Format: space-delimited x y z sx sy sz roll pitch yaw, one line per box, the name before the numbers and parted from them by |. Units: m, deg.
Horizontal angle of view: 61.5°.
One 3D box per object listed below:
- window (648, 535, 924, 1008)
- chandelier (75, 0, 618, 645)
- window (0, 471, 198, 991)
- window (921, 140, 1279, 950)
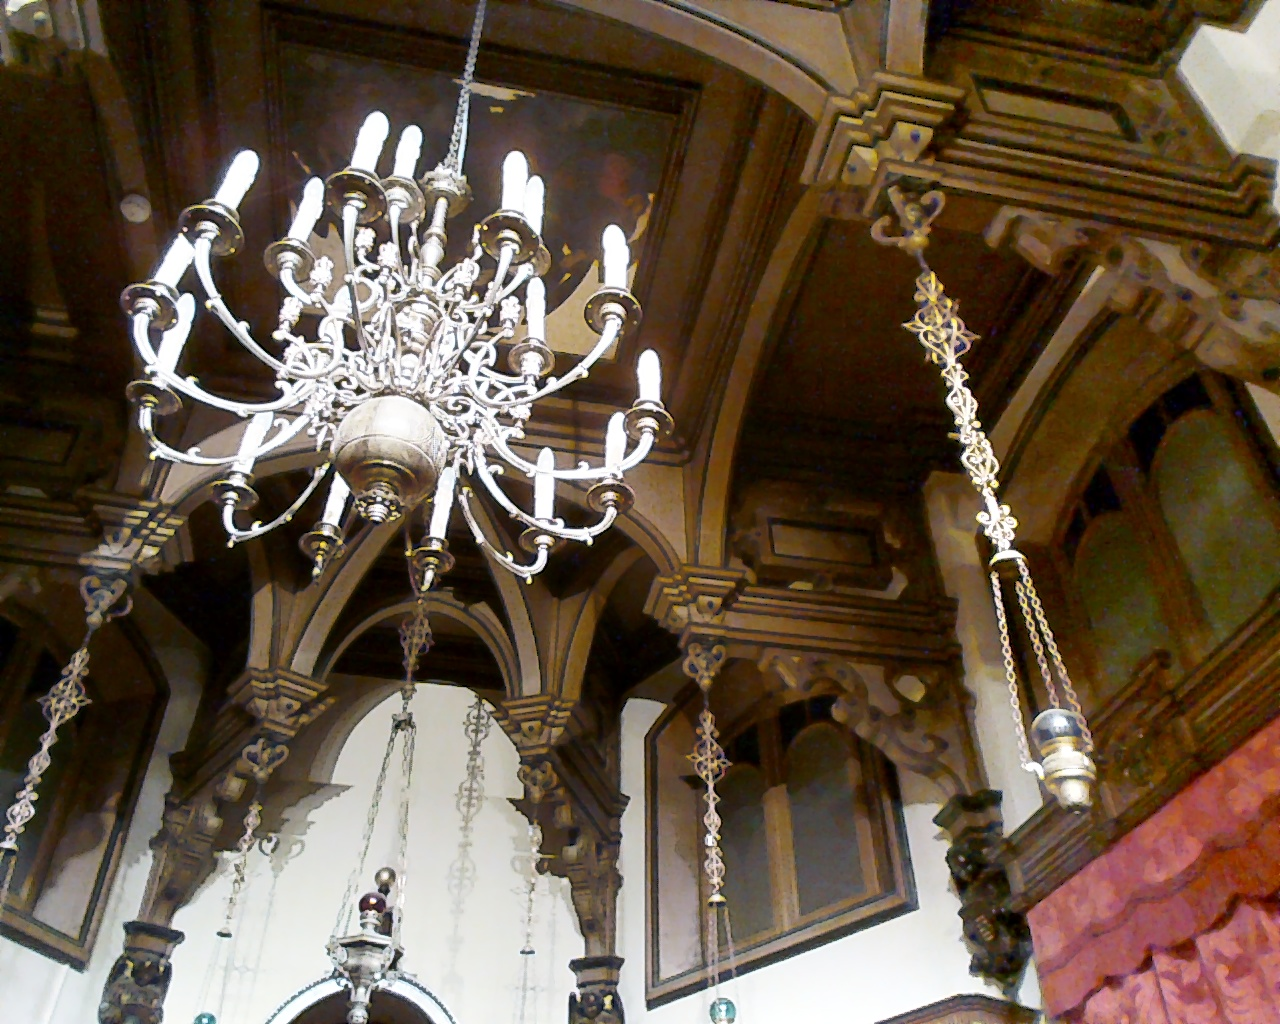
window | 0.600 1.310 5.440 0.220 1.830 1.680 23 -46 -25
chandelier | -0.480 -0.370 2.100 0.740 0.920 0.750 7 -41 -8
window | -2.759 1.010 4.860 0.200 1.670 1.760 -8 -41 9
window | 1.699 0.120 3.860 0.300 2.200 1.880 7 -41 -8
